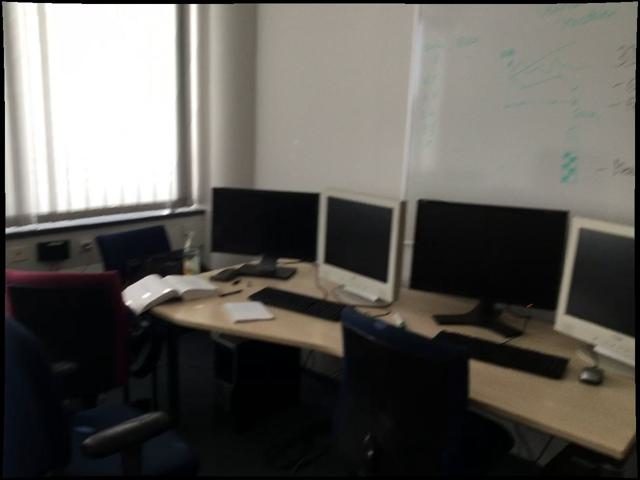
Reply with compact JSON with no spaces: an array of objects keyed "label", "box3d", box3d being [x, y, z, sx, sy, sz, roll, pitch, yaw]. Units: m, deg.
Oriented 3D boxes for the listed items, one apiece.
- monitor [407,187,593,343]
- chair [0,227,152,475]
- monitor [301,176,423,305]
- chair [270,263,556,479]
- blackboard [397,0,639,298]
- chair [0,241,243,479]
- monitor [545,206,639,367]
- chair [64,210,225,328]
[{"label":"monitor","box3d":[0.679,0.070,2.220,0.600,0.460,0.270,9,16,26]},{"label":"chair","box3d":[-1.099,0.440,2.530,0.509,0.851,0.660,2,14,-1]},{"label":"monitor","box3d":[0.160,-0.020,2.470,0.170,0.430,0.530,-11,19,-41]},{"label":"chair","box3d":[0.280,0.631,1.880,0.640,0.901,0.600,13,18,38]},{"label":"blackboard","box3d":[1.149,-0.390,2.020,1.879,1.171,0.170,14,18,38]},{"label":"chair","box3d":[-0.679,0.581,1.750,0.640,0.961,0.650,-9,18,-37]},{"label":"monitor","box3d":[1.009,0.150,1.870,0.170,0.430,0.470,-7,17,-31]},{"label":"chair","box3d":[-0.919,0.120,3.060,0.620,0.400,0.530,12,17,34]}]
